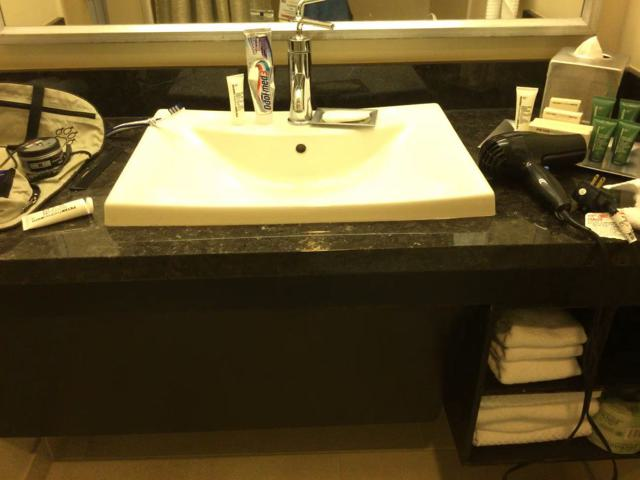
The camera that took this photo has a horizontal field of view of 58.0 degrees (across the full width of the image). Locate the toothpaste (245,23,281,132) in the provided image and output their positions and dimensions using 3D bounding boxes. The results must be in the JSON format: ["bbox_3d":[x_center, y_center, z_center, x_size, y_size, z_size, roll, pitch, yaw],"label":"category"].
[{"bbox_3d":[-0.110,-0.320,1.140,0.060,0.190,0.090,-1,31,-4],"label":"toothpaste"}]
